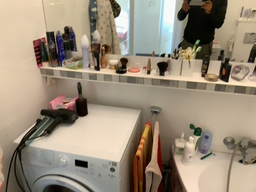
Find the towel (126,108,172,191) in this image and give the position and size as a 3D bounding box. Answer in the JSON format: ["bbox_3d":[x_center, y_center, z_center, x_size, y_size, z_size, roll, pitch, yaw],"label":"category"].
[{"bbox_3d":[0.140,0.590,1.470,0.210,0.890,0.440,7,26,12],"label":"towel"}]
